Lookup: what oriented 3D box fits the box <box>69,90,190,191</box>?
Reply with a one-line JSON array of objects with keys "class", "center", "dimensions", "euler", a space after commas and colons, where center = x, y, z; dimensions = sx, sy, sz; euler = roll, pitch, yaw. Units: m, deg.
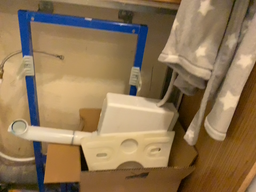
[{"class": "box", "center": [-0.040, 0.410, 1.070], "dimensions": [0.400, 0.710, 0.460], "euler": [6, 31, -5]}]
